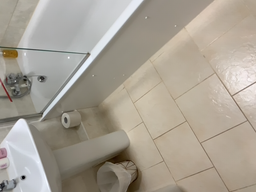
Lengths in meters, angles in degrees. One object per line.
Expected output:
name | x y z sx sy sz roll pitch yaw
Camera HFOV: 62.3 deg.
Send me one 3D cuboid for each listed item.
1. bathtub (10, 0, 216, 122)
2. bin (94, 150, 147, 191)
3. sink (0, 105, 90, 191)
bathtub | -0.170 -0.540 1.470 1.640 0.550 0.690 -40 70 35
bin | -0.060 0.630 1.710 0.250 0.250 0.250 -38 71 36
sink | -0.540 0.420 1.260 0.420 0.250 0.570 -39 71 36
